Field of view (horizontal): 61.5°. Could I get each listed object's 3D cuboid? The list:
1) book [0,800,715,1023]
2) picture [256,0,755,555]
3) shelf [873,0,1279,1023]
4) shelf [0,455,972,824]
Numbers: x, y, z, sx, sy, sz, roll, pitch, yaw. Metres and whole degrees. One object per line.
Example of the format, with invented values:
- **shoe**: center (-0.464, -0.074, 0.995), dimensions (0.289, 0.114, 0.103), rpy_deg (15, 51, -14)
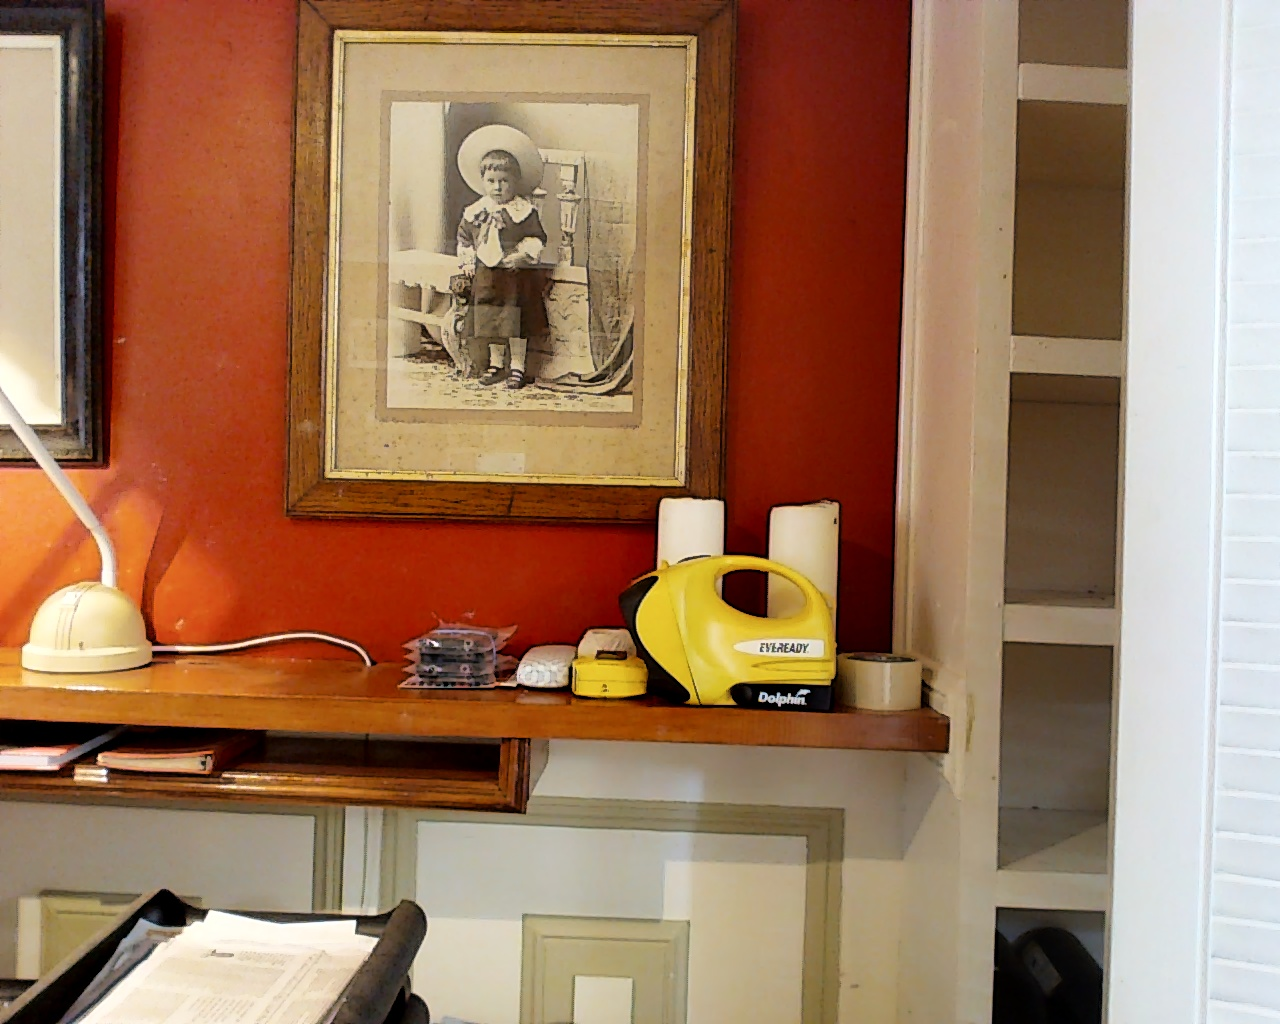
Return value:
- **book**: center (-0.240, 0.430, 1.000), dimensions (0.580, 0.130, 0.670), rpy_deg (2, -1, -1)
- **picture**: center (-0.160, -0.310, 1.300), dimensions (0.570, 0.700, 0.040), rpy_deg (2, -1, 2)
- **shelf**: center (0.570, -0.040, 1.130), dimensions (0.530, 1.440, 0.360), rpy_deg (2, -1, 2)
- **shelf**: center (-1.000, 0.090, 1.210), dimensions (2.639, 0.320, 0.270), rpy_deg (2, -1, 2)
